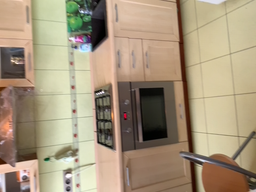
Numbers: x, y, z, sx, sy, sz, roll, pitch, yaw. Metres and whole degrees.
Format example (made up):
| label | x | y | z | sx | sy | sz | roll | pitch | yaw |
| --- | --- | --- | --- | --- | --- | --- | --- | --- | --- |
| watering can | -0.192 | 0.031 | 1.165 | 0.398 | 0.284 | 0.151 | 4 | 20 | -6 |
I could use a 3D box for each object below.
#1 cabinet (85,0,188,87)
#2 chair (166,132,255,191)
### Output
| label | x | y | z | sx | sy | sz | roll | pitch | yaw |
| --- | --- | --- | --- | --- | --- | --- | --- | --- | --- |
| cabinet | 0.060 | -0.720 | 2.240 | 0.560 | 0.860 | 1.180 | 171 | 96 | -64 |
| chair | 0.650 | 0.470 | 1.270 | 0.330 | 0.740 | 0.410 | 163 | 103 | -64 |
